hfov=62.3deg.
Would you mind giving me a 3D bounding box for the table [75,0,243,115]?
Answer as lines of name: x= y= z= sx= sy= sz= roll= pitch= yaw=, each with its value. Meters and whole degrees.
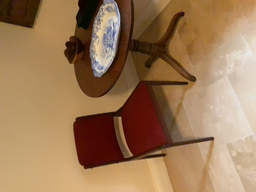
table: x=0.150 y=-0.390 z=1.620 sx=0.790 sy=0.740 sz=0.800 roll=-41 pitch=56 yaw=46
